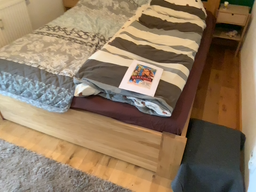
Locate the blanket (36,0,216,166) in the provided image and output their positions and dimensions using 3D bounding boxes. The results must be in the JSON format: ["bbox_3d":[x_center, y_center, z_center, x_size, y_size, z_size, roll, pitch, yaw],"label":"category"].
[{"bbox_3d":[0.240,-0.450,1.880,0.780,0.400,2.000,15,42,17],"label":"blanket"}]
